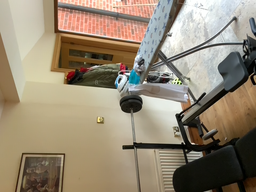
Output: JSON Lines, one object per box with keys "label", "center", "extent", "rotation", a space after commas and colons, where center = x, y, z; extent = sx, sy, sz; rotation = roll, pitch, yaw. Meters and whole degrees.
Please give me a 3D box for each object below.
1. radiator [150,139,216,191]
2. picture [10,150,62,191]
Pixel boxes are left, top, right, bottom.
{"label": "radiator", "center": [0.630, 1.250, 2.030], "extent": [0.100, 0.630, 1.710], "rotation": [116, 154, -54]}
{"label": "picture", "center": [-0.890, 0.790, 2.070], "extent": [0.030, 0.420, 0.520], "rotation": [117, 153, -55]}
